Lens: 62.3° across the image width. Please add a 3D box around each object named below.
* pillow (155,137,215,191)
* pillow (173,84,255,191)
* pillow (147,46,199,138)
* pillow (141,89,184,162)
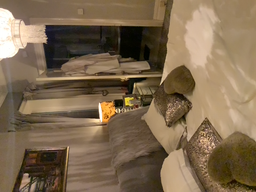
[{"bbox_3d":[0.400,0.690,1.450,0.190,0.400,0.720,-6,33,-10],"label":"pillow"},{"bbox_3d":[0.510,0.320,1.330,0.180,0.490,0.680,-18,35,3],"label":"pillow"},{"bbox_3d":[0.380,-0.070,2.040,0.170,0.590,0.710,-6,33,-10],"label":"pillow"},{"bbox_3d":[0.320,0.270,2.220,0.160,0.340,0.750,-3,33,-12],"label":"pillow"}]
